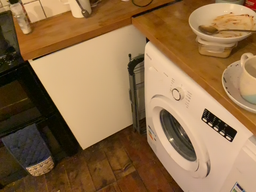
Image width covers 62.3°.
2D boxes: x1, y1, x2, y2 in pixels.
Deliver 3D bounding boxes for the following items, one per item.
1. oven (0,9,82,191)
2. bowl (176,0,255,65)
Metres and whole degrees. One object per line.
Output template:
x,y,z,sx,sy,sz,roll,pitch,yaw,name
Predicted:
-0.790,0.060,1.390,0.600,0.880,0.630,-23,49,-13,oven
0.350,-0.260,0.790,0.240,0.100,0.230,-24,49,-13,bowl
